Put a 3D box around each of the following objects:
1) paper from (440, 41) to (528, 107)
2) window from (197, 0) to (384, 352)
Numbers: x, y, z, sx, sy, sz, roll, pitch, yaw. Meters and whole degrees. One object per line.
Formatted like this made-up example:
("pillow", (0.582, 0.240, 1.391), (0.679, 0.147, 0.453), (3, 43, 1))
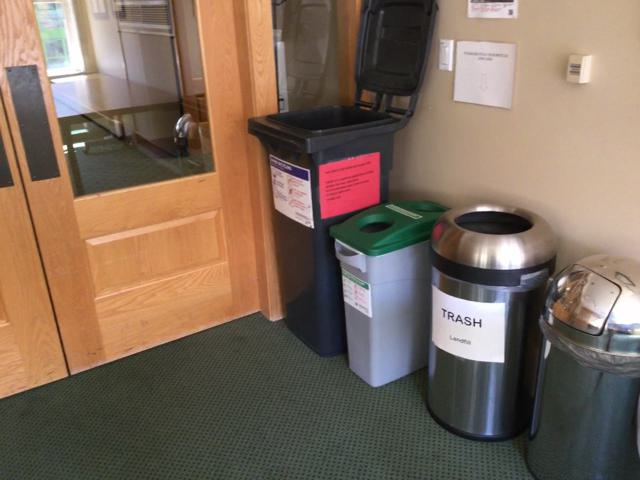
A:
("paper", (0.570, -0.590, 2.040), (0.070, 0.210, 0.300), (-10, 21, -34))
("window", (-0.130, -0.710, 2.450), (0.630, 2.270, 0.430), (-10, 21, -34))
